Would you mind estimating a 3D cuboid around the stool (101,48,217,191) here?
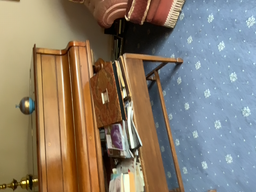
[{"bbox_3d":[0.170,0.180,1.510,0.460,0.480,0.870,-33,63,57],"label":"stool"}]
